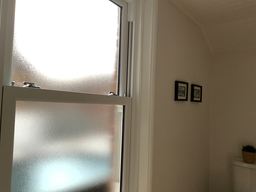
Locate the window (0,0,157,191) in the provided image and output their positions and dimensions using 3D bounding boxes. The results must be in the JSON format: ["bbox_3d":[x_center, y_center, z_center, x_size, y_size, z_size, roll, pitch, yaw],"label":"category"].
[{"bbox_3d":[-0.250,0.010,1.260,0.280,1.790,1.090,0,-3,38],"label":"window"}]
